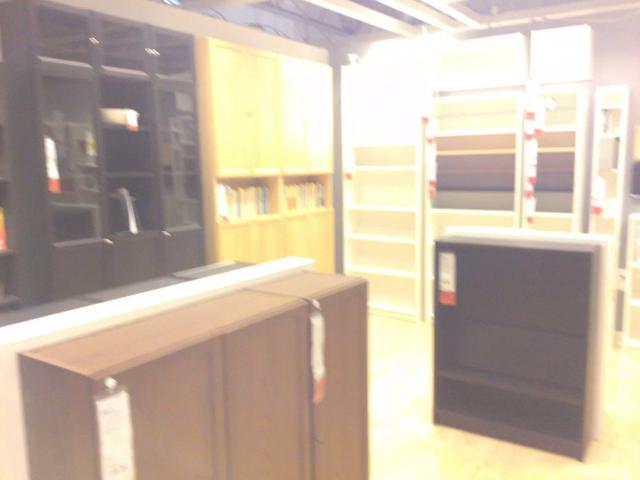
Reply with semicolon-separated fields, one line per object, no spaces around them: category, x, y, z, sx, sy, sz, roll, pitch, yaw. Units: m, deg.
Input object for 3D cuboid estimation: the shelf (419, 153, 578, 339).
shelf;1.390;0.020;4.610;0.860;1.250;0.320;20;17;31
